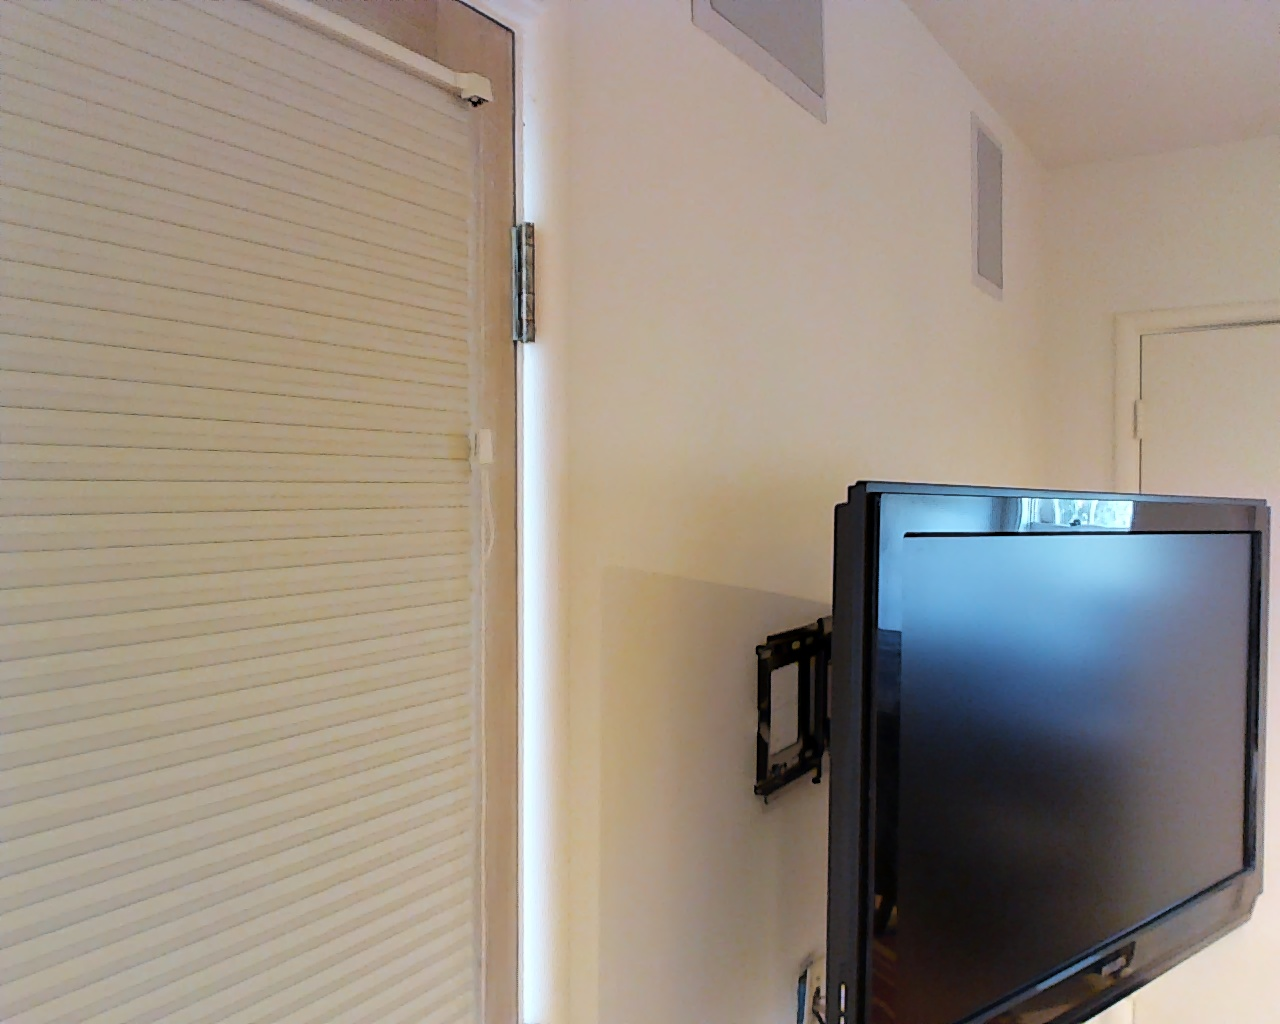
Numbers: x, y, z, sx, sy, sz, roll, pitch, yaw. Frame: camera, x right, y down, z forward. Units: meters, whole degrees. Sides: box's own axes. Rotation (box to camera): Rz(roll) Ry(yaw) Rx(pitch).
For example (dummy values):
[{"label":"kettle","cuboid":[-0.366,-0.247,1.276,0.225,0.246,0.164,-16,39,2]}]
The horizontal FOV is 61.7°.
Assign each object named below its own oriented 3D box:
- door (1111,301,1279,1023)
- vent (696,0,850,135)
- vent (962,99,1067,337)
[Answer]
[{"label":"door","cuboid":[1.850,0.520,2.530,1.340,2.071,0.120,1,1,33]},{"label":"vent","cuboid":[0.190,-0.710,1.440,0.040,0.290,0.390,1,1,33]},{"label":"vent","cuboid":[0.940,-0.690,2.650,0.060,0.420,0.750,1,1,33]}]
